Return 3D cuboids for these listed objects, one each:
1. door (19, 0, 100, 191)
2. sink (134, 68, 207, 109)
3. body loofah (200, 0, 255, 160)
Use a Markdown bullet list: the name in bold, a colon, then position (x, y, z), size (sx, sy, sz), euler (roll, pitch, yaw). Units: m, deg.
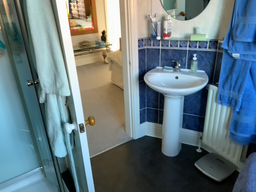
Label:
- **door**: position (-0.430, -0.100, 1.260), size (0.090, 1.930, 0.750), euler (-18, 30, -29)
- **sink**: position (0.390, -0.090, 1.920), size (0.570, 0.170, 0.370), euler (8, 28, 21)
- **body loofah**: position (0.860, -0.340, 1.450), size (0.180, 1.550, 0.570), euler (-16, 29, -26)
